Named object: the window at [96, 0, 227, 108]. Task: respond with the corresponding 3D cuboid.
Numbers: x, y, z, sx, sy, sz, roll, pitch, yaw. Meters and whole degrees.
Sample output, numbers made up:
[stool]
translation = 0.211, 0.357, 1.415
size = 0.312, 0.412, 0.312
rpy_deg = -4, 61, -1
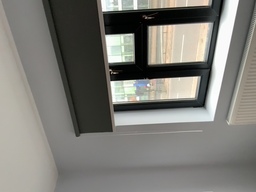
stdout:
[window]
translation = 0.300, -0.460, 2.020
size = 0.090, 1.080, 1.320
rpy_deg = -93, 0, -54
